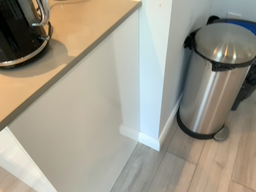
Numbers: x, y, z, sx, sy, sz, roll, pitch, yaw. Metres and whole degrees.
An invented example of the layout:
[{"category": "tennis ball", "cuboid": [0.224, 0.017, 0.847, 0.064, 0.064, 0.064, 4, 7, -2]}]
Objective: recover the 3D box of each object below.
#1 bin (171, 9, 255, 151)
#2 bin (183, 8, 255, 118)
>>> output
[{"category": "bin", "cuboid": [0.480, -0.060, 1.170, 0.310, 0.660, 0.340, 20, 51, 20]}, {"category": "bin", "cuboid": [0.700, -0.230, 1.450, 0.450, 0.510, 0.410, 20, 51, 21]}]
